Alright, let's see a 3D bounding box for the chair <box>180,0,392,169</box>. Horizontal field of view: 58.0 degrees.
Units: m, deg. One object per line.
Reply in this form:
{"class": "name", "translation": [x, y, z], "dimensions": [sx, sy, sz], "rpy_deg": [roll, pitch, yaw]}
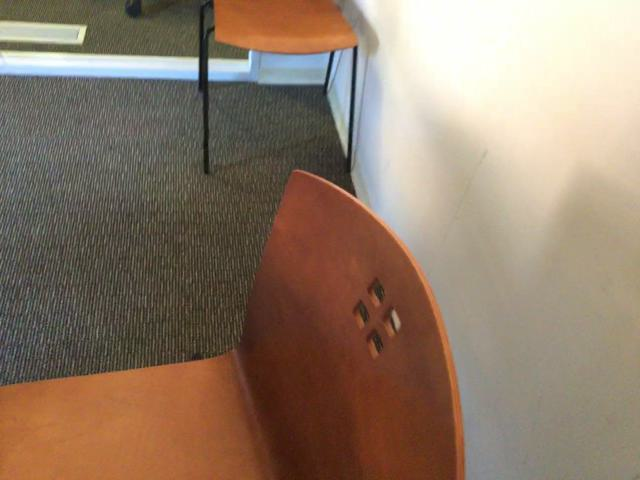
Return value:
{"class": "chair", "translation": [-0.140, -0.720, 1.750], "dimensions": [0.540, 0.840, 0.550], "rpy_deg": [0, 48, -12]}
